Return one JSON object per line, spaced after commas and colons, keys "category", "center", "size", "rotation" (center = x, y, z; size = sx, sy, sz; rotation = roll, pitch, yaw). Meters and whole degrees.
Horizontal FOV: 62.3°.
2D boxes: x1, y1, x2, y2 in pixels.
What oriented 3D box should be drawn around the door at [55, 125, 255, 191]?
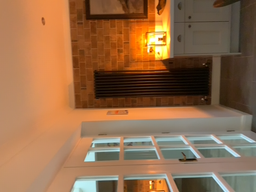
{"category": "door", "center": [0.540, 0.550, 1.800], "size": [1.690, 2.010, 0.090], "rotation": [-100, 8, -82]}
